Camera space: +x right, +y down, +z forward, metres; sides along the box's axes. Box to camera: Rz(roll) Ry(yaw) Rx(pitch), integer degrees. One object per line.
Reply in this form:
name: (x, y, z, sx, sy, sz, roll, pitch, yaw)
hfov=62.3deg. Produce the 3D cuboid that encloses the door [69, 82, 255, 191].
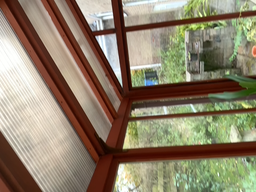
door: (0.770, 0.450, 0.940, 3.350, 2.190, 0.050, -77, -19, -71)
